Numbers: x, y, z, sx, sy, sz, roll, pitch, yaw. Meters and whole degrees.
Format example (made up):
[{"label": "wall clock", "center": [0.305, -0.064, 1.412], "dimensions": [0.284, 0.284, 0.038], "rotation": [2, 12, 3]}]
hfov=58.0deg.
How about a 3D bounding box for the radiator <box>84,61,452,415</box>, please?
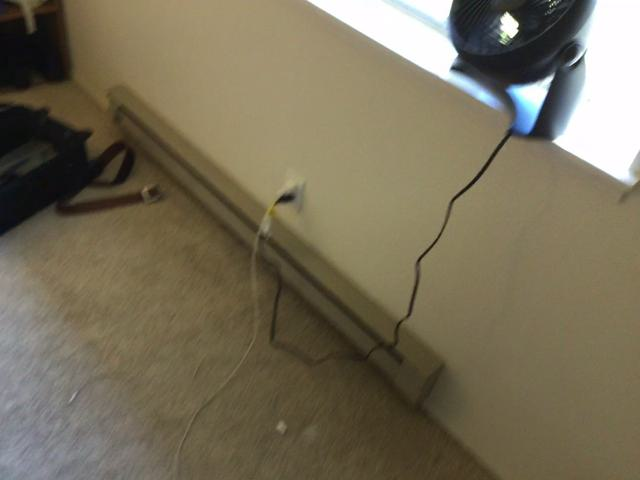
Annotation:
[{"label": "radiator", "center": [-0.280, -0.100, 1.850], "dimensions": [0.100, 0.200, 1.630], "rotation": [-29, 58, -37]}]
